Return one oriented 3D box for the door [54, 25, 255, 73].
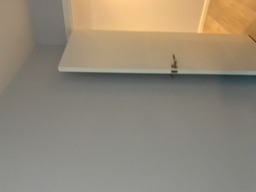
[{"bbox_3d":[0.370,-0.500,2.160,0.760,2.020,0.050,-93,6,-49],"label":"door"}]
